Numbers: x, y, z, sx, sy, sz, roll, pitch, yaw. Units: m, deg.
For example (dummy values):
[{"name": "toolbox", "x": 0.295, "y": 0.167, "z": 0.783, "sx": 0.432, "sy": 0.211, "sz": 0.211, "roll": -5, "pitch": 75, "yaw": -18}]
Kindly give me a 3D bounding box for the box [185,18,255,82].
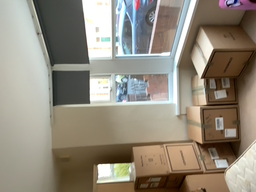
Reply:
[{"name": "box", "x": 1.120, "y": -0.570, "z": 2.670, "sx": 0.590, "sy": 0.540, "sz": 0.520, "roll": 95, "pitch": 171, "yaw": -49}]
